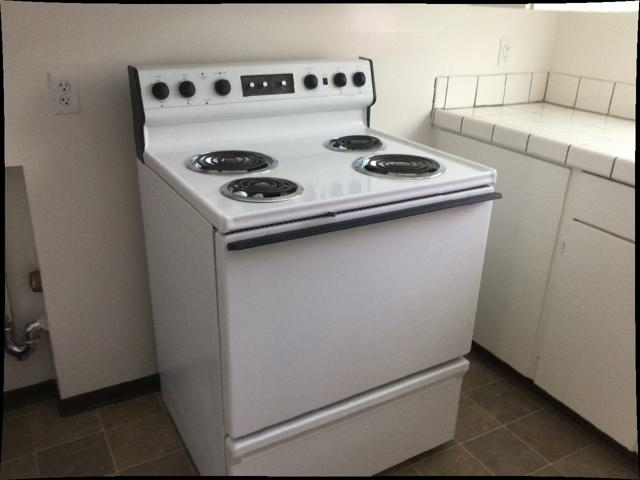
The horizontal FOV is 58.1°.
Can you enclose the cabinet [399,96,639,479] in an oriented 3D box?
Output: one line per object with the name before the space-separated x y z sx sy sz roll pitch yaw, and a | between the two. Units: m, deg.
cabinet | 0.978 0.290 1.620 0.120 0.961 2.130 -12 29 -29
